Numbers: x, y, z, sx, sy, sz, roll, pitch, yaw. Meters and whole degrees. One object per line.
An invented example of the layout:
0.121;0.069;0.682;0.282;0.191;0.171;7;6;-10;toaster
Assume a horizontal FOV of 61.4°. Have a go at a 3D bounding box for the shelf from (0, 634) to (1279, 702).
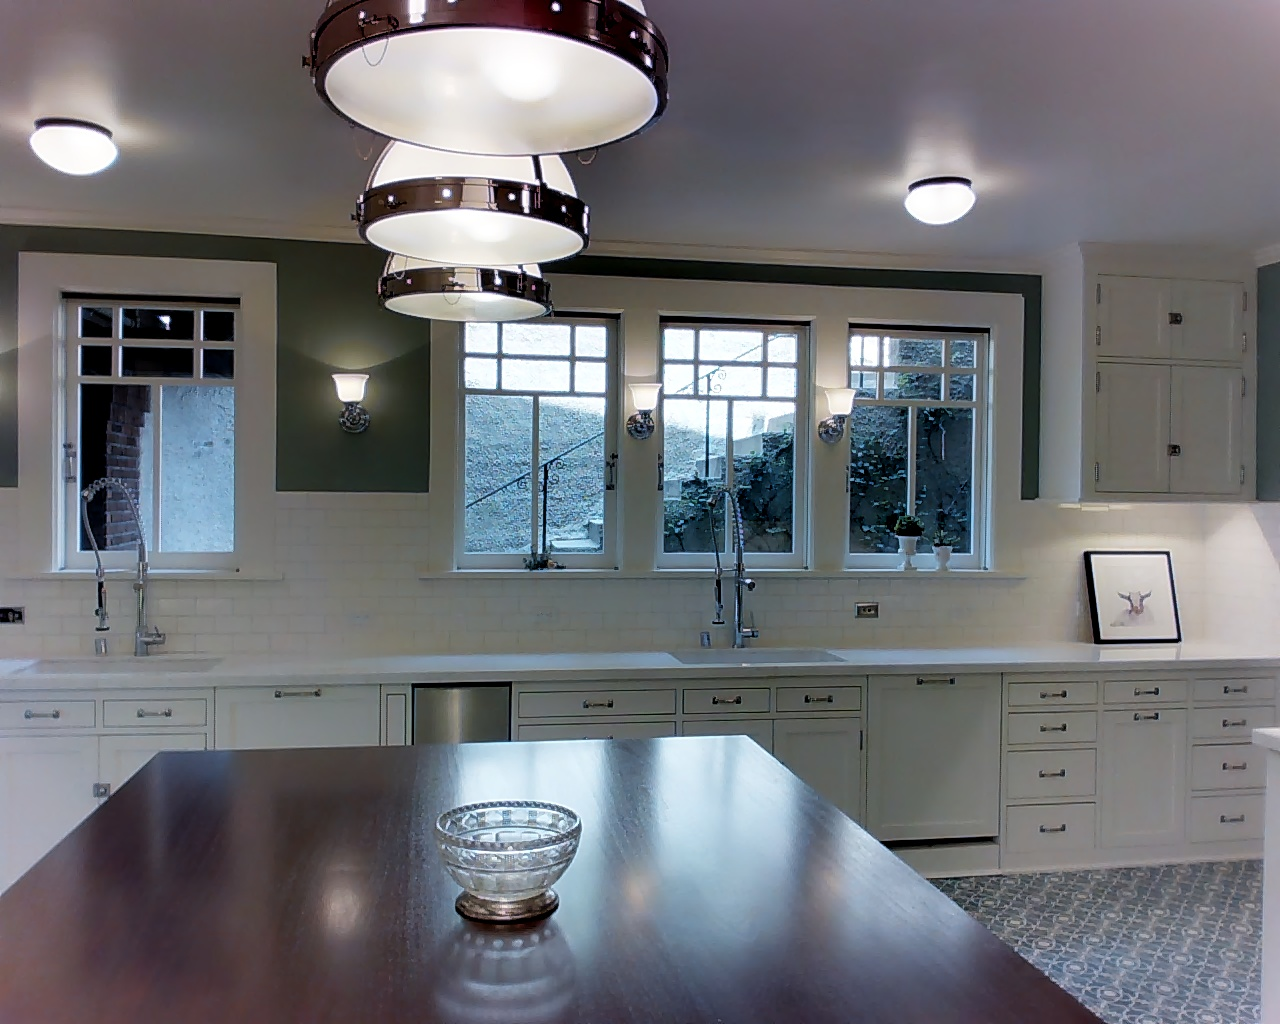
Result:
-0.070;0.650;4.610;6.039;0.100;0.630;0;0;-10;shelf
